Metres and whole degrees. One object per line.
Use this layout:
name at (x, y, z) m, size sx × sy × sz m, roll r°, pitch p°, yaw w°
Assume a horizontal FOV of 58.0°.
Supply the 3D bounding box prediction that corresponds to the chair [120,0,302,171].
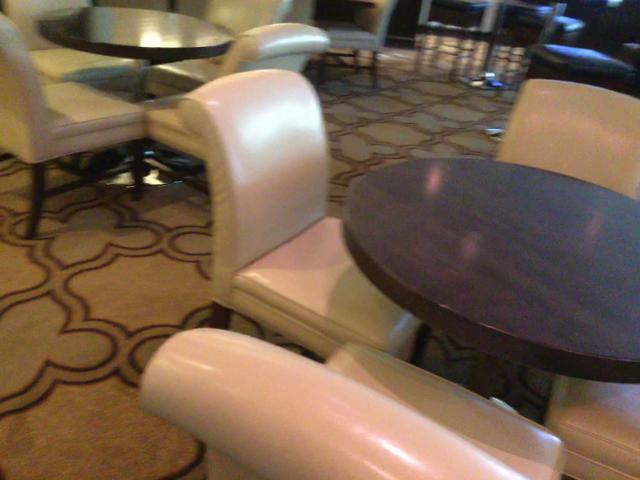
chair at (-0.620, -1.020, 3.340) m, size 0.650 × 0.900 × 0.760 m, roll 22°, pitch 33°, yaw 21°

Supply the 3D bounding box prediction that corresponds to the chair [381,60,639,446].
chair at (0.720, -0.020, 1.960) m, size 0.580 × 0.920 × 0.810 m, roll 22°, pitch 33°, yaw 21°

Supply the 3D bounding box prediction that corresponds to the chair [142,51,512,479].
chair at (-0.020, 0.050, 1.680) m, size 0.760 × 0.930 × 0.560 m, roll 22°, pitch 33°, yaw 21°

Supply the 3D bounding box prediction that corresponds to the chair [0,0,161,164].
chair at (-1.400, -1.070, 3.190) m, size 0.840 × 0.950 × 0.610 m, roll 27°, pitch 34°, yaw 27°

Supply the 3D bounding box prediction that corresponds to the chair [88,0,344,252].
chair at (-0.510, -0.620, 2.700) m, size 0.970 × 0.920 × 0.540 m, roll 25°, pitch 34°, yaw 24°

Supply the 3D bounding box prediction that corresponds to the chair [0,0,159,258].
chair at (-1.180, -0.580, 2.450) m, size 0.590 × 0.930 × 0.770 m, roll 22°, pitch 33°, yaw 21°
